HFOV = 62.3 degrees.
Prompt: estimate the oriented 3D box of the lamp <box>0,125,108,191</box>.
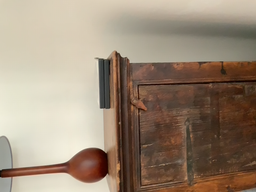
[{"bbox_3d":[-0.340,0.250,0.720,0.270,0.510,0.230,-161,70,-77],"label":"lamp"}]
